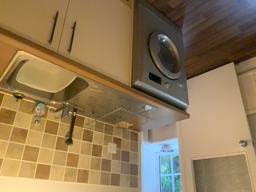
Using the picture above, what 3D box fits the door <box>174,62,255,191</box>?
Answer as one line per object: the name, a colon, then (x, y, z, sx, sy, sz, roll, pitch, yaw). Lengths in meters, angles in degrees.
door: (0.910, 0.590, 2.300, 0.810, 1.940, 0.030, -21, 145, 39)
